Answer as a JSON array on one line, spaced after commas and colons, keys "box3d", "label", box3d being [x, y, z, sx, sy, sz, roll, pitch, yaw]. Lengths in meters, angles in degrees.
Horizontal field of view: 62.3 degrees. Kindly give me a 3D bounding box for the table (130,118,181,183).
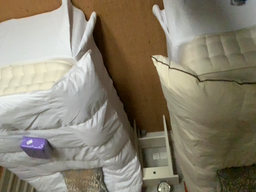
[{"box3d": [0.320, 0.660, 2.580, 0.520, 0.670, 0.300, -7, 147, 7], "label": "table"}]
